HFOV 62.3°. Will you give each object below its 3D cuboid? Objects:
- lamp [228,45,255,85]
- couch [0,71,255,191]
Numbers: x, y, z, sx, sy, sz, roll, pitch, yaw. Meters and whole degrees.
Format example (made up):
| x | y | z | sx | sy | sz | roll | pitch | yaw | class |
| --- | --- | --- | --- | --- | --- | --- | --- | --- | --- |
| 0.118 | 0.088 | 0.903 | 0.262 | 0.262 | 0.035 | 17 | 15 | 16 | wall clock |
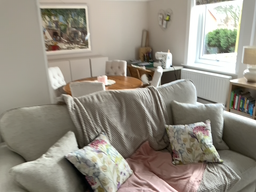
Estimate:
| x | y | z | sx | sy | sz | roll | pitch | yaw | class |
| --- | --- | --- | --- | --- | --- | --- | --- | --- | --- |
| 1.610 | -0.420 | 2.780 | 0.390 | 0.450 | 0.320 | -11 | 21 | -28 | lamp |
| 0.110 | 0.480 | 1.690 | 2.040 | 0.940 | 1.120 | -11 | 21 | -28 | couch |
